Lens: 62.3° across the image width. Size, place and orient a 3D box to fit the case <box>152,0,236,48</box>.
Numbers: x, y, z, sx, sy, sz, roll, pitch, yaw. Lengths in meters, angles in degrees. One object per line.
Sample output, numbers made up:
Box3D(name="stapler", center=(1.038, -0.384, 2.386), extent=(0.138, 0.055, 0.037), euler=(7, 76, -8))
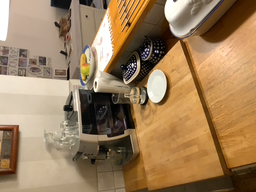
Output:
Box3D(name="case", center=(0.240, -0.340, 0.670), extent=(0.360, 0.130, 0.150), euler=(-50, 44, 49))

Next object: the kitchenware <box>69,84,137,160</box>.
Box3D(name="kitchenware", center=(-0.160, 0.150, 1.230), extent=(0.210, 0.300, 0.360), euler=(-47, 46, 50))

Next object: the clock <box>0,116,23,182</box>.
Box3D(name="clock", center=(-0.690, 0.260, 1.060), extent=(0.080, 0.280, 0.320), euler=(-50, 44, 49))
